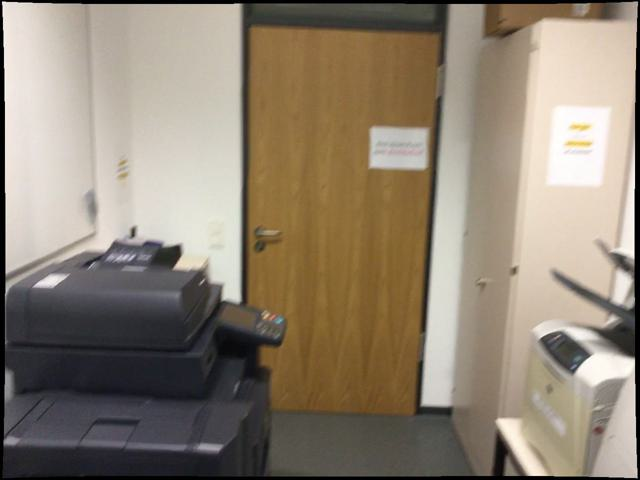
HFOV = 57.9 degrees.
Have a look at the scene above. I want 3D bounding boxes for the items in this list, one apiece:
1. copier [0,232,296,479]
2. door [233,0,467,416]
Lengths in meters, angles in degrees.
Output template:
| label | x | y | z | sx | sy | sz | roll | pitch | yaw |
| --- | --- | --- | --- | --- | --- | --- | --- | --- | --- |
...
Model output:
| label | x | y | z | sx | sy | sz | roll | pitch | yaw |
| --- | --- | --- | --- | --- | --- | --- | --- | --- | --- |
| copier | -0.490 | 0.681 | 1.590 | 0.729 | 1.161 | 1.120 | 3 | 13 | 0 |
| door | 0.120 | -0.100 | 3.060 | 1.029 | 2.132 | 0.100 | 4 | 11 | -4 |
